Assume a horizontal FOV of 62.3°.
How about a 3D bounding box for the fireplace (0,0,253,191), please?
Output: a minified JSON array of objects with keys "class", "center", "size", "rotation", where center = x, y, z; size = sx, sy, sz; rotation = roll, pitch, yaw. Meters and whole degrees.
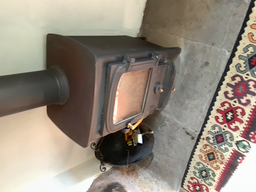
[{"class":"fireplace","center":[-0.270,0.000,0.790],"size":[0.650,1.580,1.820],"rotation":[30,121,33]}]
